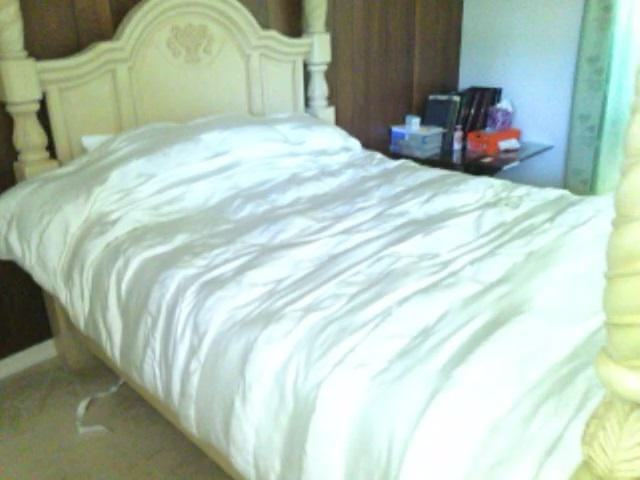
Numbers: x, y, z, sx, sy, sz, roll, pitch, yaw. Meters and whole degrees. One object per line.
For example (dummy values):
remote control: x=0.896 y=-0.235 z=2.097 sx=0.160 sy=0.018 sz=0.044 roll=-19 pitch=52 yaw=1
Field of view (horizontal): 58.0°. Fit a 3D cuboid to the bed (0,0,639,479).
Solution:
bed: x=0.160 y=-0.480 z=1.820 sx=2.050 sy=2.260 sz=2.330 roll=-24 pitch=30 yaw=-39
